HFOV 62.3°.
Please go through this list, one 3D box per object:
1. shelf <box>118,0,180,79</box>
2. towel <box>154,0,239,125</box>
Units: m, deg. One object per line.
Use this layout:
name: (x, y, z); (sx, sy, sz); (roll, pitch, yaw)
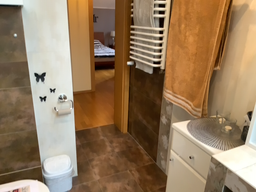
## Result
shelf: (0.160, -0.740, 2.010); (0.250, 0.990, 0.690); (-7, 22, -23)
towel: (0.430, -0.340, 1.500); (0.150, 0.920, 0.560); (-7, 22, -23)
